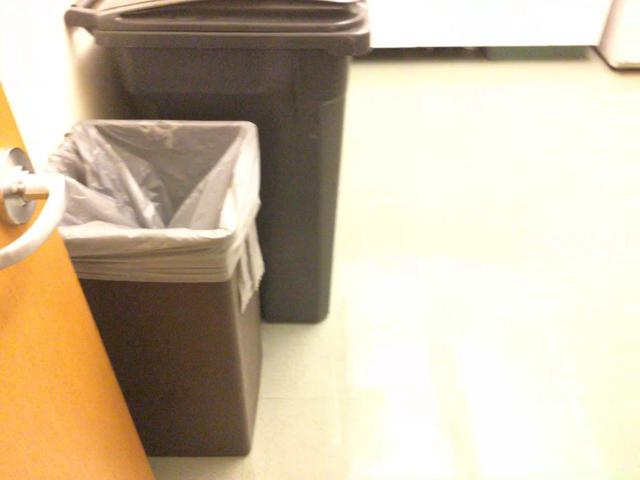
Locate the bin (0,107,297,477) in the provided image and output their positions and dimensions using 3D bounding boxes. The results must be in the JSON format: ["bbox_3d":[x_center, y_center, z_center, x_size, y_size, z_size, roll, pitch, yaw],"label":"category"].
[{"bbox_3d":[-0.290,0.140,1.250,0.390,0.720,0.390,-1,39,4],"label":"bin"}]
